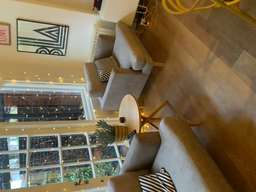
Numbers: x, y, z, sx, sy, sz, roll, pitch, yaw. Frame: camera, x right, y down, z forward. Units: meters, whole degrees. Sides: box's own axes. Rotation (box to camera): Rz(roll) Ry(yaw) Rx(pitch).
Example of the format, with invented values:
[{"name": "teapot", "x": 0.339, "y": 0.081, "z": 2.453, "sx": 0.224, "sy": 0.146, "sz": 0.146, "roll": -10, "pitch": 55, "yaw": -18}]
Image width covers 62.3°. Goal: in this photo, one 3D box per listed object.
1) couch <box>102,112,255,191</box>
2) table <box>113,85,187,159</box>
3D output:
[{"name": "couch", "x": 0.370, "y": 0.820, "z": 1.920, "sx": 0.980, "sy": 0.830, "sz": 0.890, "roll": -116, "pitch": 36, "yaw": -44}, {"name": "table", "x": 0.220, "y": 0.300, "z": 2.580, "sx": 0.600, "sy": 0.540, "sz": 0.600, "roll": -115, "pitch": 35, "yaw": -43}]
